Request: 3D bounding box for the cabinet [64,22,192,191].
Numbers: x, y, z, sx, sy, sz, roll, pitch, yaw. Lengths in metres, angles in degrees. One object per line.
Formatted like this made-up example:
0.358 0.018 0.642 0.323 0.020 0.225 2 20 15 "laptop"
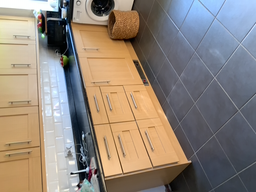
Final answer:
-0.210 -0.030 2.720 0.590 0.920 2.230 112 147 -45 "cabinet"
